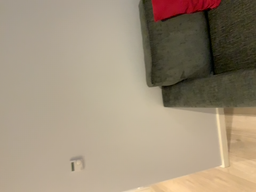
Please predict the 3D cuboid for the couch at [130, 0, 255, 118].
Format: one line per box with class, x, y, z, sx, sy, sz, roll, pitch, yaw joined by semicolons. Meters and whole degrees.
couch;0.570;-0.790;1.430;1.010;0.800;1.720;175;90;-70
